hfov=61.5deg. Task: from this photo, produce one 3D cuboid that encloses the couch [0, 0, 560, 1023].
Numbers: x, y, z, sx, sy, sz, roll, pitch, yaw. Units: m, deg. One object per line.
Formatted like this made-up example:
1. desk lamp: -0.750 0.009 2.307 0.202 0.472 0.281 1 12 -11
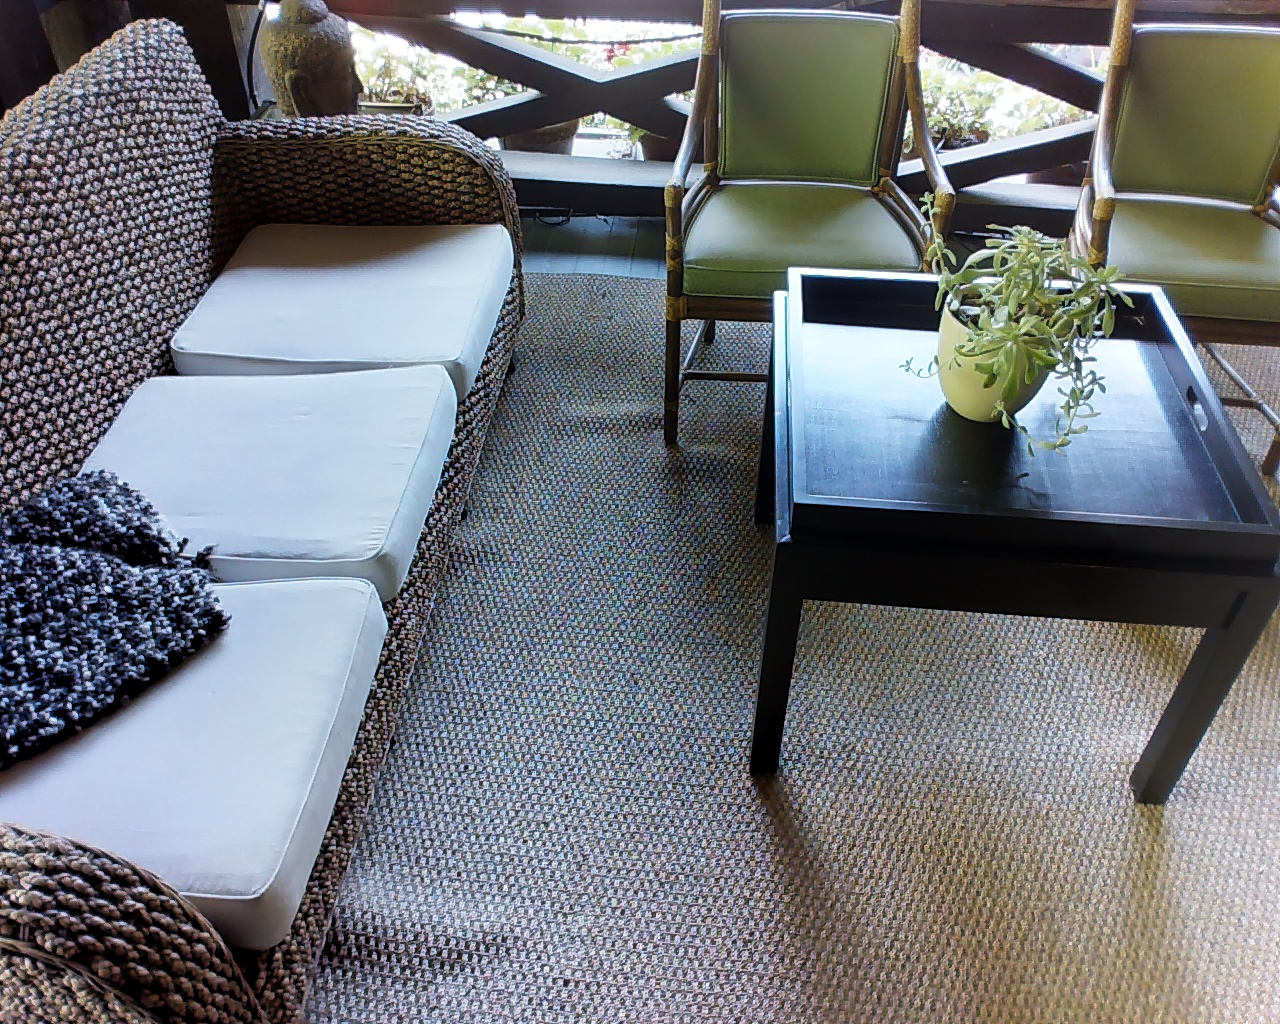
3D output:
1. couch: -0.790 -0.170 1.900 0.950 0.870 2.030 4 41 4
